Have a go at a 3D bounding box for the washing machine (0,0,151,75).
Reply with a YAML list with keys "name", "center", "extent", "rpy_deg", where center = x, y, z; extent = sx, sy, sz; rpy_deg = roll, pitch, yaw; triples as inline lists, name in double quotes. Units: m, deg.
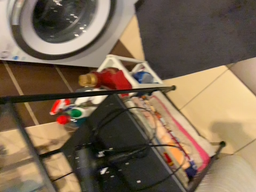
- name: "washing machine"
  center: [-0.430, -0.550, 1.080]
  extent: [0.580, 0.840, 0.630]
  rpy_deg: [51, 117, 19]
